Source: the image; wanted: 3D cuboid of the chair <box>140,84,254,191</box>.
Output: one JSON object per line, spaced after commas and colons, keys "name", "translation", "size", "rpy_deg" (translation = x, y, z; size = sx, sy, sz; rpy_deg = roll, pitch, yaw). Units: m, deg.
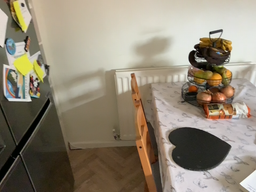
{"name": "chair", "translation": [0.290, 0.460, 1.200], "size": [0.410, 0.960, 0.410], "rpy_deg": [-2, 28, 2]}
